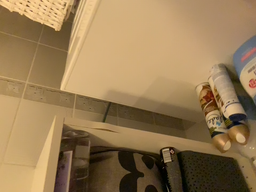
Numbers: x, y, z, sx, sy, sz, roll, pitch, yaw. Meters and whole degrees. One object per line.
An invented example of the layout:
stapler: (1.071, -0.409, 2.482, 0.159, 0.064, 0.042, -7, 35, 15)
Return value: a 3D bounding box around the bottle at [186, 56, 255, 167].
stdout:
bottle: (0.330, 0.050, 0.640, 0.190, 0.260, 0.160, 13, 139, -22)
